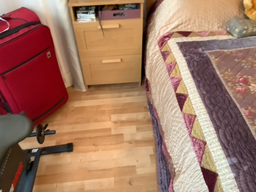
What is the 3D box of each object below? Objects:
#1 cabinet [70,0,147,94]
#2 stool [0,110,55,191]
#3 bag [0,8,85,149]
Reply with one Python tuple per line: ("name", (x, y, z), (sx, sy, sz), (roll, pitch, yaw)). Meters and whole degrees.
("cabinet", (-0.140, -0.470, 1.840), (0.520, 0.760, 0.440), (-5, 42, -3))
("stool", (-0.600, 0.390, 1.140), (0.250, 0.510, 0.340), (-7, 42, -6))
("bag", (-0.690, -0.120, 1.490), (0.370, 0.740, 0.550), (26, 50, 27))
